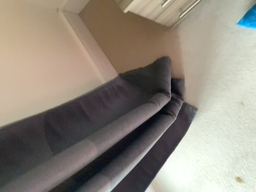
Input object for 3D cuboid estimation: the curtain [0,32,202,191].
[{"bbox_3d":[-0.380,0.200,0.180,0.220,2.410,0.530,-35,82,29],"label":"curtain"}]
